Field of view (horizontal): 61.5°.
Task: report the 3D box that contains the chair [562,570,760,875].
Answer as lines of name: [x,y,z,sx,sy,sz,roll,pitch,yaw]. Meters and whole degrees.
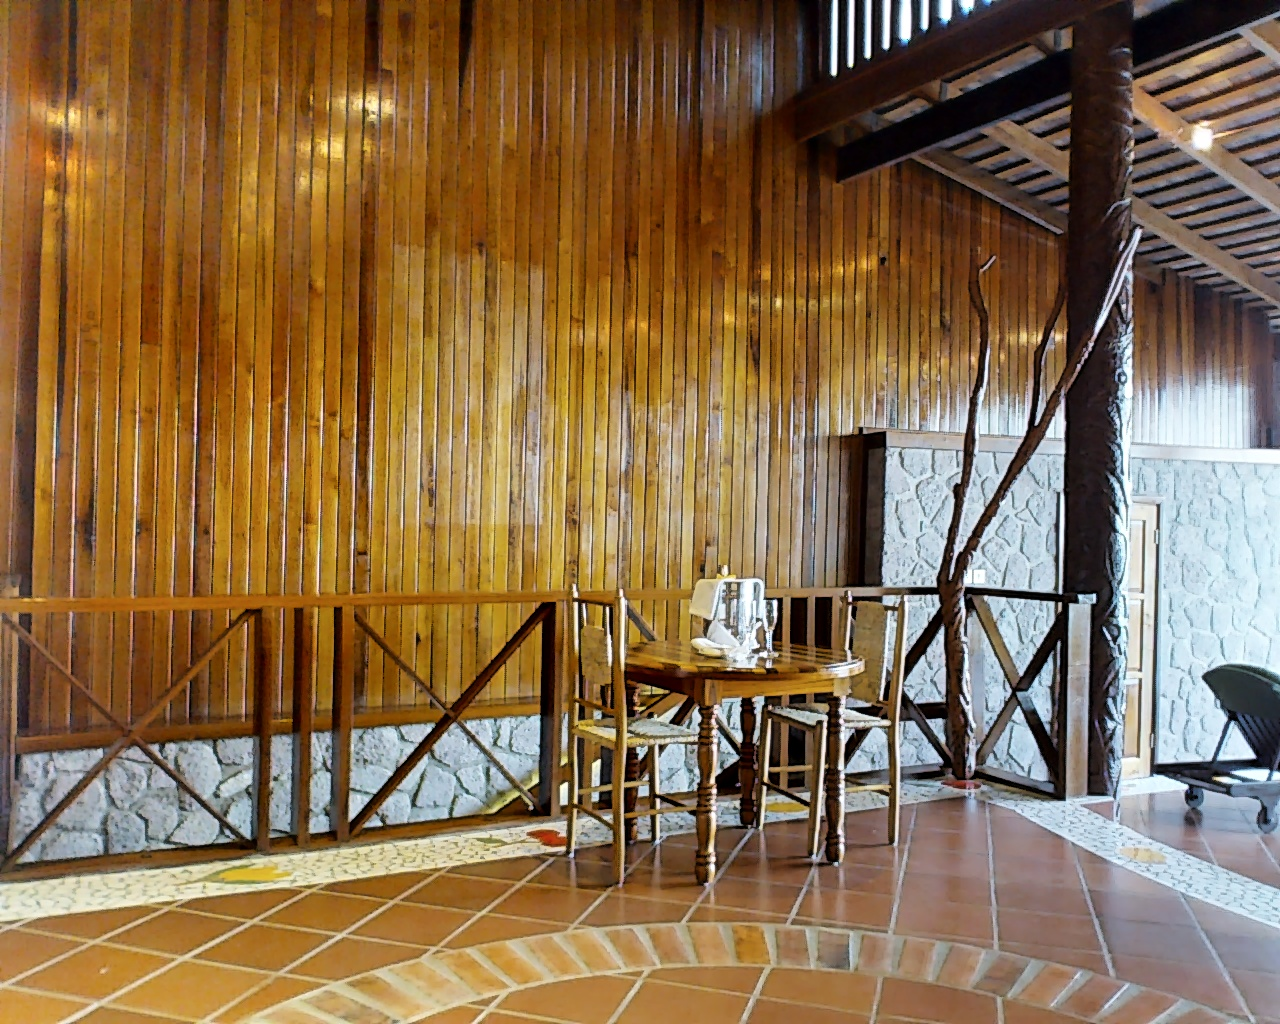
chair: [0.070,0.750,4.100,0.550,1.030,0.530,1,0,-27]
